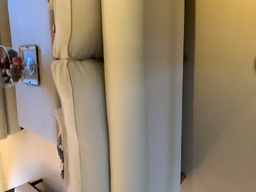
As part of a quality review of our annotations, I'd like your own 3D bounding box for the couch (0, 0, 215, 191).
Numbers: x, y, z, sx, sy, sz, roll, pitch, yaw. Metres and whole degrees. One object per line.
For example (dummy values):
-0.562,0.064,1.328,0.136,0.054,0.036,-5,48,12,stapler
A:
-0.100,-0.220,1.380,0.960,0.930,2.180,6,101,41,couch
